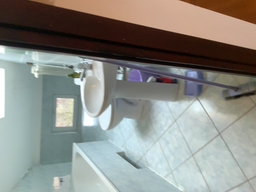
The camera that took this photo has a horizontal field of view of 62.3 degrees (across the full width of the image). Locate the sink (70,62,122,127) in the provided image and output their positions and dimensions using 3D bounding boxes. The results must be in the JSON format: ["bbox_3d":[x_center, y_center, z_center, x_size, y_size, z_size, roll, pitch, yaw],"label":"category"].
[{"bbox_3d":[-0.290,-0.050,1.720,0.660,0.170,0.430,15,102,60],"label":"sink"}]

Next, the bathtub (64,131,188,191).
[{"bbox_3d":[-0.260,1.040,2.580,2.100,0.540,0.690,12,99,60],"label":"bathtub"}]
